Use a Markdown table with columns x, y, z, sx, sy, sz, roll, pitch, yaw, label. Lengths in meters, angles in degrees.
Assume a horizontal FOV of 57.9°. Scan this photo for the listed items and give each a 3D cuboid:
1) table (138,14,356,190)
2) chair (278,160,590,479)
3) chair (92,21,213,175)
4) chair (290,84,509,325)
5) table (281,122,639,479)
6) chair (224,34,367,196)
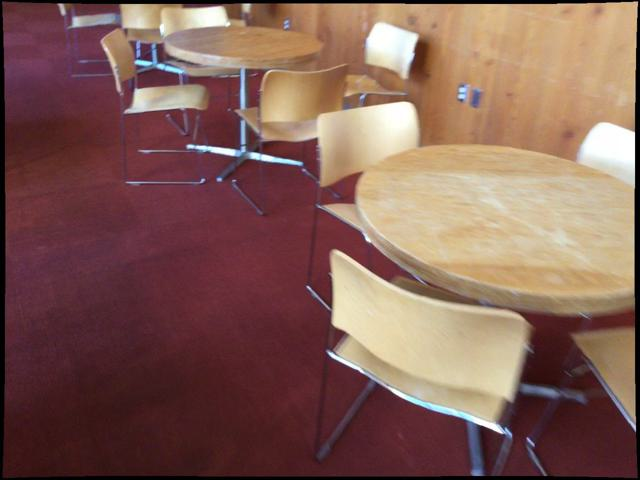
| x | y | z | sx | sy | sz | roll | pitch | yaw | label |
| --- | --- | --- | --- | --- | --- | --- | --- | --- | --- |
| -0.470 | -0.891 | 3.490 | 0.929 | 0.721 | 0.930 | -13 | 35 | -29 | table |
| 0.320 | 0.260 | 1.620 | 0.580 | 0.660 | 0.670 | 19 | 33 | 20 | chair |
| -0.919 | -0.801 | 3.230 | 0.569 | 0.670 | 0.580 | -3 | 32 | -16 | chair |
| 0.260 | -0.170 | 2.260 | 0.490 | 0.680 | 0.590 | -13 | 35 | -29 | chair |
| 0.529 | 0.170 | 1.880 | 0.939 | 0.731 | 0.940 | -13 | 35 | -29 | table |
| -0.160 | -0.681 | 3.050 | 0.520 | 0.660 | 0.530 | -13 | 35 | -29 | chair |
